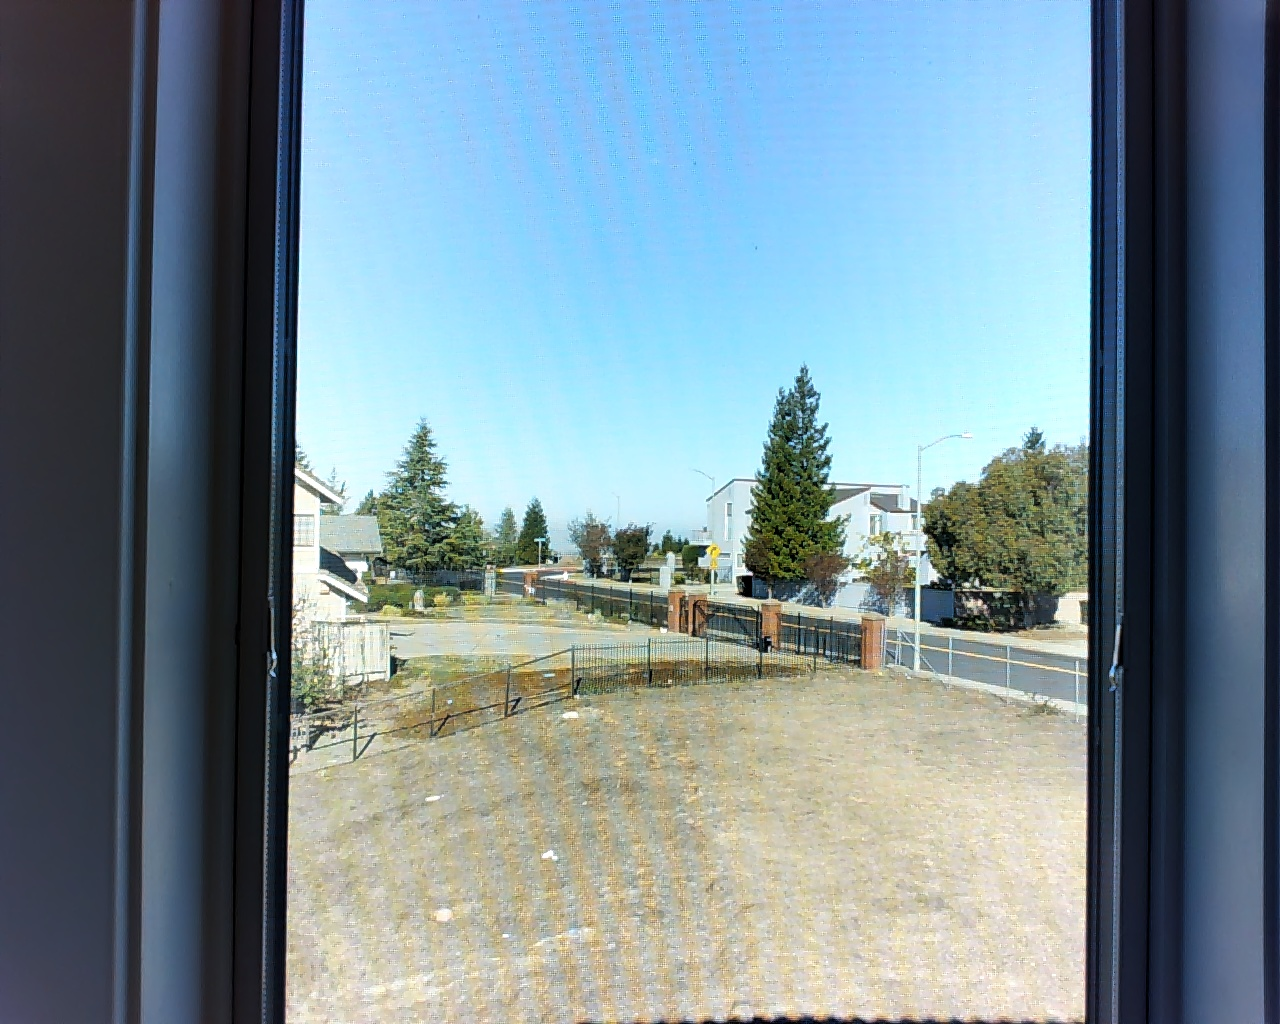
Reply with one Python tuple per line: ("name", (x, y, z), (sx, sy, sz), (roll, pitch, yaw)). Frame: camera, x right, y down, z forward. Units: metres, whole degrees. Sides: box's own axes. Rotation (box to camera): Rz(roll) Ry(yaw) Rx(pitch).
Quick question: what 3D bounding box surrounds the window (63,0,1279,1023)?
("window", (0.050, 0.040, 0.720), (0.760, 1.580, 0.200), (1, -1, 1))
